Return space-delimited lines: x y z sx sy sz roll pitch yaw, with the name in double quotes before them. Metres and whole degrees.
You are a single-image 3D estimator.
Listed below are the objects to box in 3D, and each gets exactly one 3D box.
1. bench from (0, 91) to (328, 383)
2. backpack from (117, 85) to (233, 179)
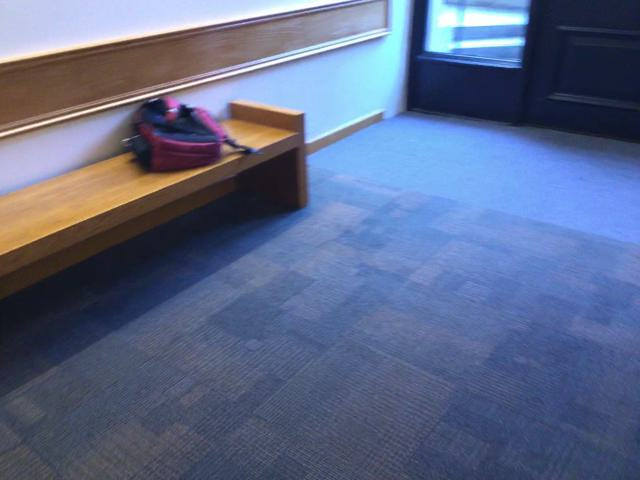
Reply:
"bench" -0.780 -0.150 2.520 0.570 0.540 1.910 20 35 34
"backpack" -0.660 -0.500 2.600 0.410 0.250 0.460 -11 30 -19
